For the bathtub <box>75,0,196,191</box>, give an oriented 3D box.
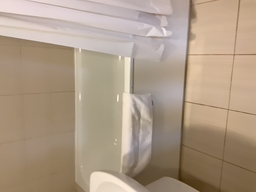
[{"bbox_3d":[0.000,-0.010,1.640,0.700,0.540,1.750,13,104,50],"label":"bathtub"}]
